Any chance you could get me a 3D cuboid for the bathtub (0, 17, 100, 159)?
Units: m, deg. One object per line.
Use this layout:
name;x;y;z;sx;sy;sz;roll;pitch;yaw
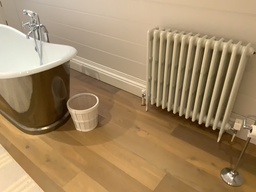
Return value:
bathtub;-1.130;-0.230;2.110;1.620;0.700;0.700;24;40;31
